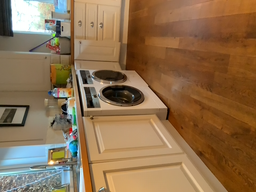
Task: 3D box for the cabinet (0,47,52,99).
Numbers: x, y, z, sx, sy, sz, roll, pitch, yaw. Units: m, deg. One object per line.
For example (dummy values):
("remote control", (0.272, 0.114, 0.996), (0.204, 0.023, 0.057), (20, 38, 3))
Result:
("cabinet", (-1.790, -0.380, 3.420), (0.410, 1.010, 0.750), (-137, 48, -67))
